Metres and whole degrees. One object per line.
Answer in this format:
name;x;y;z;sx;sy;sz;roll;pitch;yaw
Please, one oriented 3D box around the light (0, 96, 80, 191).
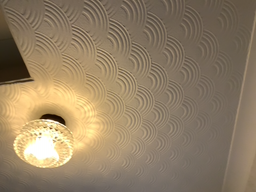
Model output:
light;-0.350;0.200;0.850;0.200;0.220;0.300;-10;124;2
